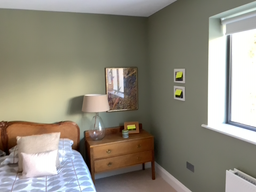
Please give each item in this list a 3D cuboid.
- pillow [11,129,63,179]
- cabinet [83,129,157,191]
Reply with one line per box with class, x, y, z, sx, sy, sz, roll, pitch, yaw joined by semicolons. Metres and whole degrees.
pillow;-1.060;0.660;2.580;0.480;0.290;0.720;-4;8;-17
cabinet;-0.120;0.970;3.300;1.020;0.690;0.500;-4;8;-22
